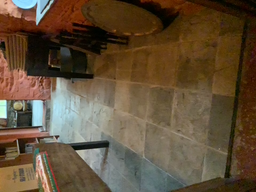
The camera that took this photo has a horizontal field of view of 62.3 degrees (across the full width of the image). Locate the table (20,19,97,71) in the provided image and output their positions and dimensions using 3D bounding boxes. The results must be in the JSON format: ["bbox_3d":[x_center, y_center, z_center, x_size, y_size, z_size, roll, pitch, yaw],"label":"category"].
[{"bbox_3d":[-1.040,-0.640,3.010,1.140,0.800,0.500,12,100,59],"label":"table"}]
